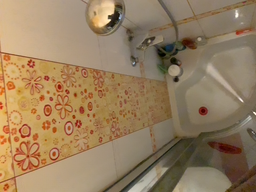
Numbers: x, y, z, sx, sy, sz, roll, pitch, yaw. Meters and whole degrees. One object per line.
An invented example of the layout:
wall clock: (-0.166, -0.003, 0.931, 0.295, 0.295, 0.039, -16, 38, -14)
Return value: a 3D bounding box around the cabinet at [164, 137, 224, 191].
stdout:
cabinet: (0.580, 0.660, 1.740, 0.300, 0.780, 0.490, -8, 87, 25)
